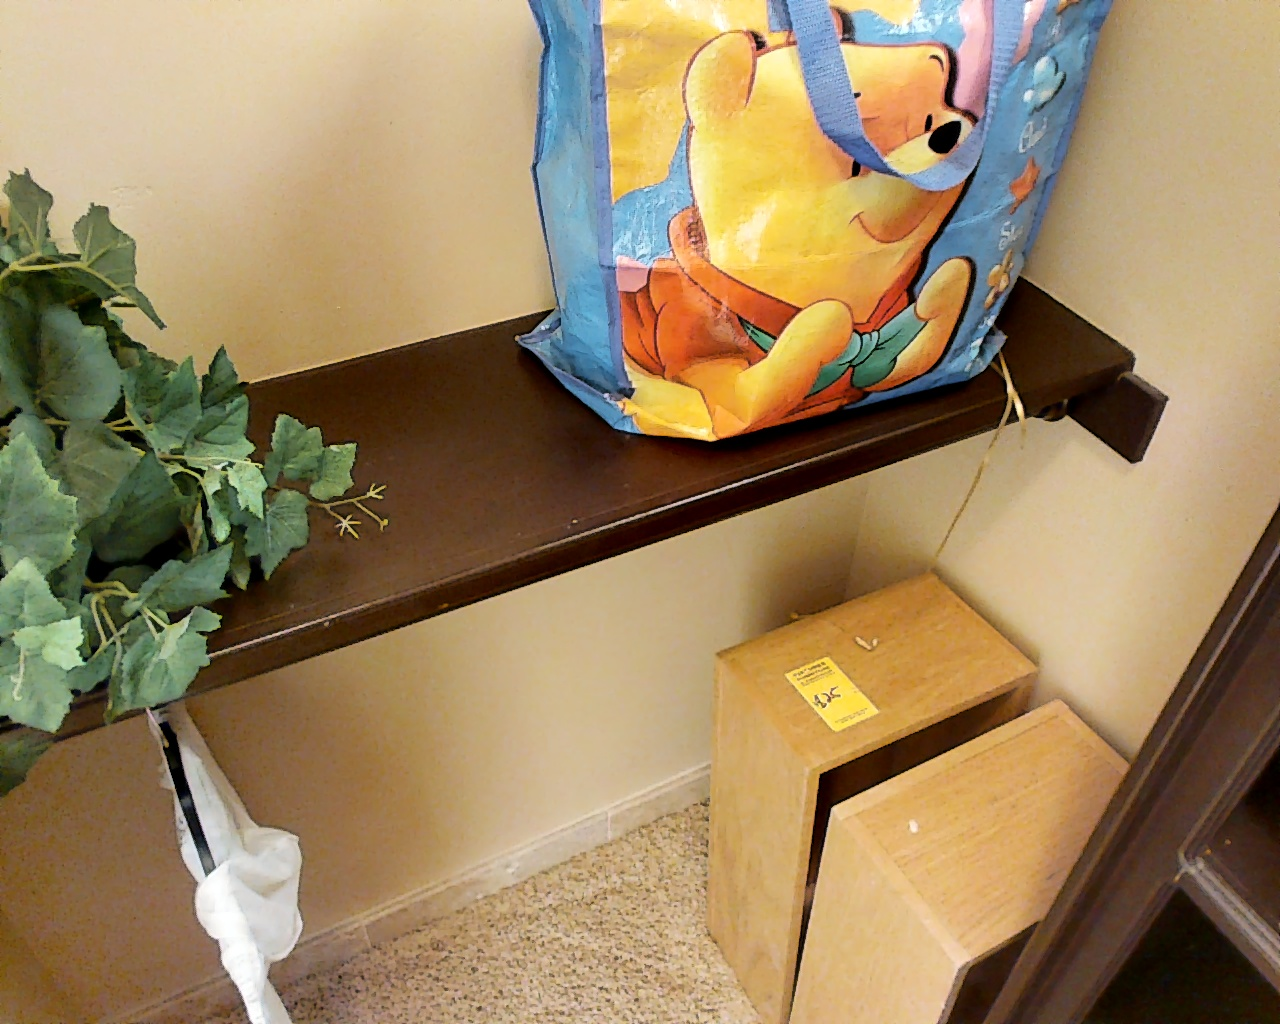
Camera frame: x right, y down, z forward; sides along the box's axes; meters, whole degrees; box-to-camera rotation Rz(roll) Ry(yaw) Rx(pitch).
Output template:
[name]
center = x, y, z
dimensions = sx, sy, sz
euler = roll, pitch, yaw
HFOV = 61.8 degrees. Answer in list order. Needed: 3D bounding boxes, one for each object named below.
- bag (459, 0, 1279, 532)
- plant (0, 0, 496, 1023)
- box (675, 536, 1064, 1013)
[bag]
center = 0.180, -0.320, 0.900
dimensions = 0.570, 0.430, 0.290
euler = -20, 47, -21
[plant]
center = -0.400, -0.030, 0.690
dimensions = 0.440, 0.500, 0.450
euler = -18, 46, -20
[box]
center = 0.280, 0.380, 1.490
dimensions = 0.370, 0.600, 0.240
euler = -18, 46, -20
